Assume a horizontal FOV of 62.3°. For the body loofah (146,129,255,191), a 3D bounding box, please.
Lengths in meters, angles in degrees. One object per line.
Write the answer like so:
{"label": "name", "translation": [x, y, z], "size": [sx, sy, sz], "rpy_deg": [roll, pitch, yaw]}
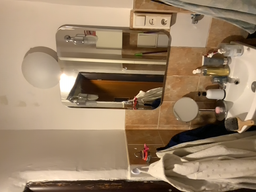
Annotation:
{"label": "body loofah", "translation": [0.850, 0.380, 1.230], "size": [0.230, 1.440, 0.280], "rpy_deg": [-96, 9, -56]}
